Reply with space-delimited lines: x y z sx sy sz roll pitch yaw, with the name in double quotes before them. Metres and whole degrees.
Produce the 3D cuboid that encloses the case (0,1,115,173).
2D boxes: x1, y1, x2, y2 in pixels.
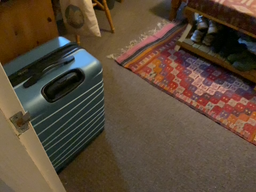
"case" -0.380 -0.020 1.130 0.380 0.690 0.480 31 54 18
